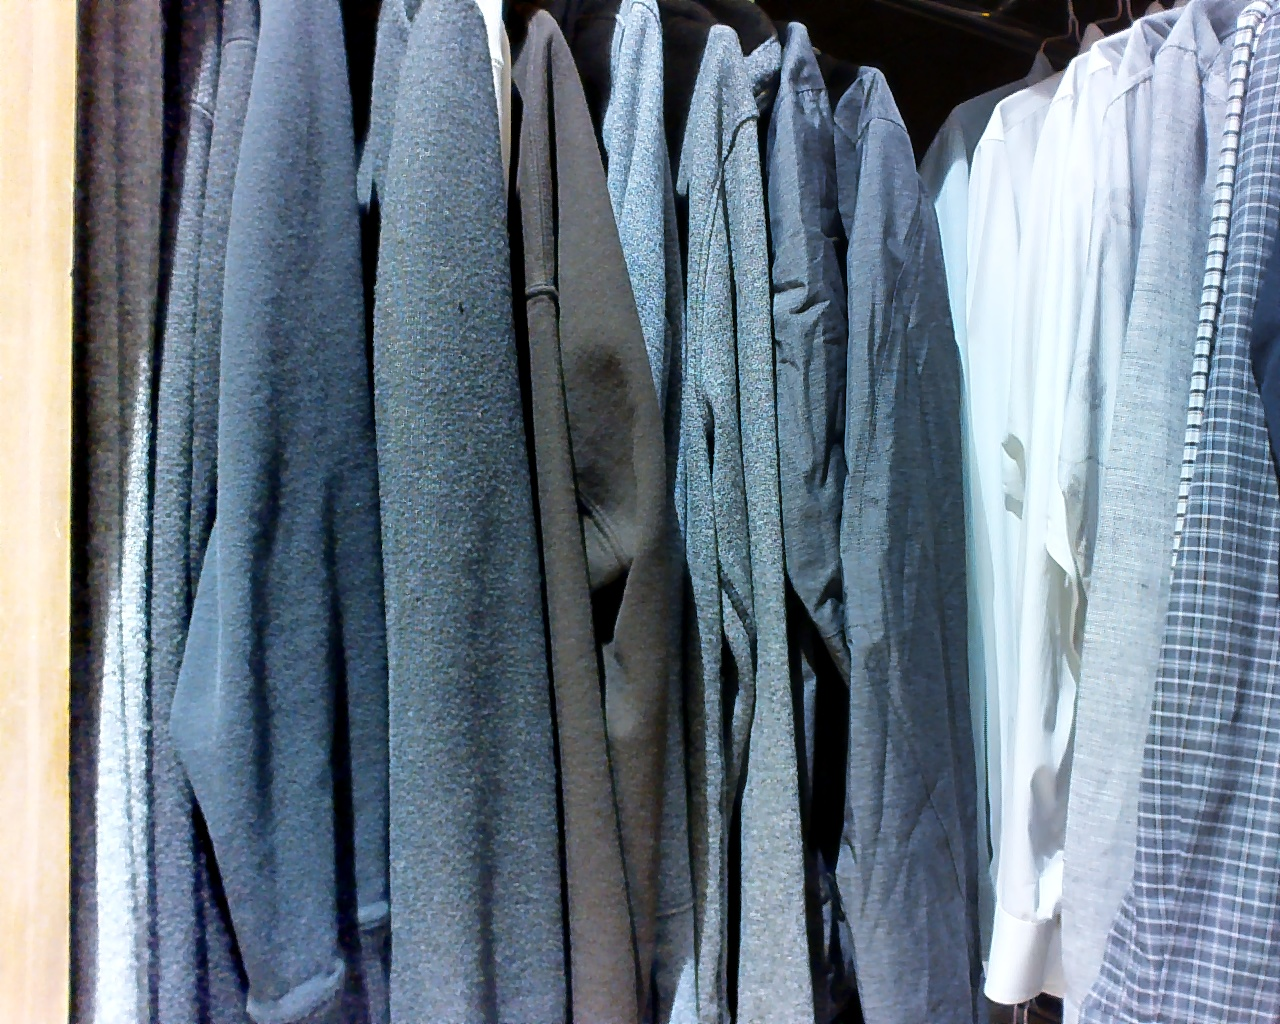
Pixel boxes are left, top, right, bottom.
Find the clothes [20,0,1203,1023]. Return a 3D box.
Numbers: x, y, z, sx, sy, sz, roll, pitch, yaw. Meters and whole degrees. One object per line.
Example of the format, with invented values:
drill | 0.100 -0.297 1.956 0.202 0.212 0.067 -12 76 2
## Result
clothes | -0.010 -0.030 0.770 0.750 0.970 0.390 0 1 -30
